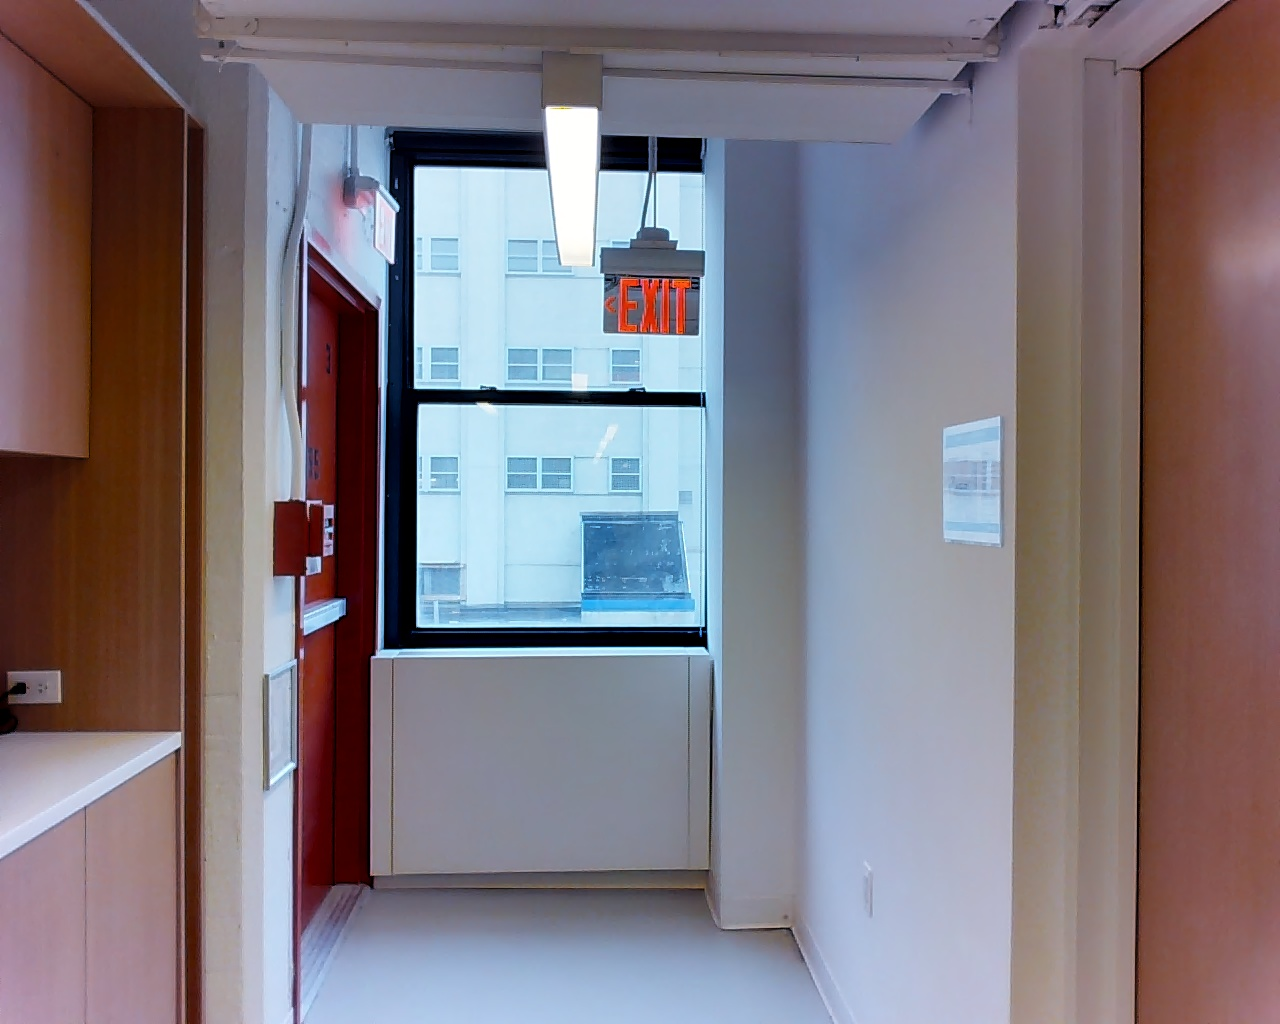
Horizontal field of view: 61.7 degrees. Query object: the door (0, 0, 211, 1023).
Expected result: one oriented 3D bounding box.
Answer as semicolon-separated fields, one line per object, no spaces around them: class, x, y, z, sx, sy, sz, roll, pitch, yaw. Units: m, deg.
door;-1.050;0.230;1.880;0.150;2.421;1.220;1;0;-3
